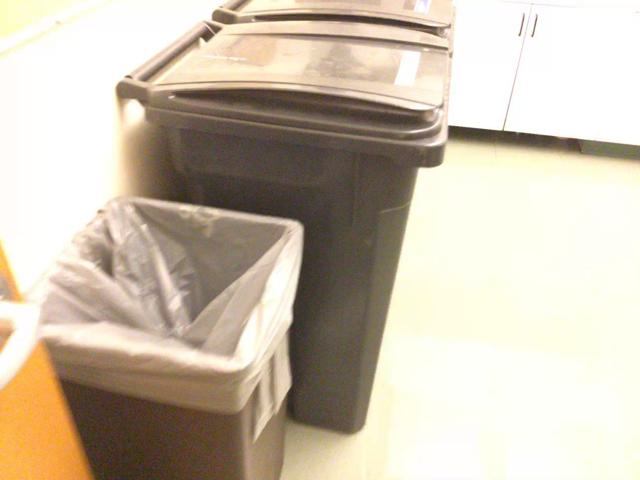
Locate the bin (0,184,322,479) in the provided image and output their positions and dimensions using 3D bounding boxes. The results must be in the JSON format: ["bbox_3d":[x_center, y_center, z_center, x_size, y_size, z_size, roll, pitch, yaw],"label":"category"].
[{"bbox_3d":[-0.230,0.320,1.120,0.390,0.720,0.390,7,36,10],"label":"bin"}]
